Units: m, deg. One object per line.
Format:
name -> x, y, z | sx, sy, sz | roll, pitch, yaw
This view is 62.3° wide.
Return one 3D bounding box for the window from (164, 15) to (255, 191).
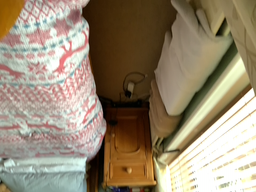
window -> 0.490, 0.760, 1.020 | 0.120, 1.510, 1.900 | -1, 151, -3
